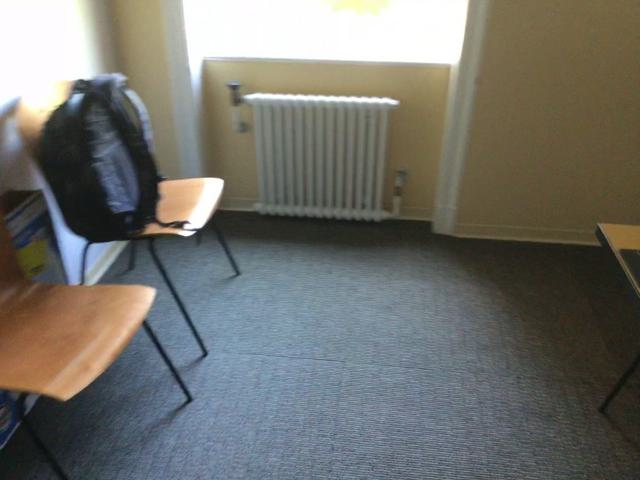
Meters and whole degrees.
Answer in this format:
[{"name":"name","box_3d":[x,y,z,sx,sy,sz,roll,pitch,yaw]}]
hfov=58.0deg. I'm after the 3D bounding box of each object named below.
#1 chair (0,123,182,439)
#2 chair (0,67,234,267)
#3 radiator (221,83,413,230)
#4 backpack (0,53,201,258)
[{"name":"chair","box_3d":[-0.720,0.060,1.400,0.530,0.520,0.530,4,30,9]},{"name":"chair","box_3d":[-0.630,-0.260,1.860,0.540,0.460,0.490,4,30,9]},{"name":"radiator","box_3d":[-0.010,-0.360,2.530,0.780,0.600,0.120,4,30,9]},{"name":"backpack","box_3d":[-0.680,-0.280,1.800,0.430,0.490,0.430,4,30,9]}]
